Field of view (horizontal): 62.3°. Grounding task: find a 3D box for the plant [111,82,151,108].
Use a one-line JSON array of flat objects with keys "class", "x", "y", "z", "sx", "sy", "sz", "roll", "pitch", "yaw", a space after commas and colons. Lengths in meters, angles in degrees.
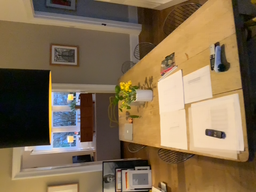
[{"class": "plant", "x": 0.020, "y": 0.000, "z": 2.200, "sx": 0.360, "sy": 0.310, "sz": 0.230, "roll": 159, "pitch": 109, "yaw": -70}]
